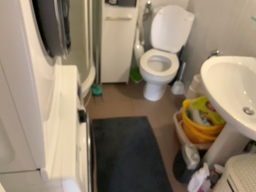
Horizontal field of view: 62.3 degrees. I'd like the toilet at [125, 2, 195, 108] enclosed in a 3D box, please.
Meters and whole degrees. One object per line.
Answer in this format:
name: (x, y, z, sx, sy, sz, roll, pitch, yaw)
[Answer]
toilet: (0.300, -0.400, 2.100, 0.360, 0.800, 0.570, 21, 43, 14)
